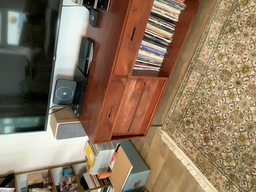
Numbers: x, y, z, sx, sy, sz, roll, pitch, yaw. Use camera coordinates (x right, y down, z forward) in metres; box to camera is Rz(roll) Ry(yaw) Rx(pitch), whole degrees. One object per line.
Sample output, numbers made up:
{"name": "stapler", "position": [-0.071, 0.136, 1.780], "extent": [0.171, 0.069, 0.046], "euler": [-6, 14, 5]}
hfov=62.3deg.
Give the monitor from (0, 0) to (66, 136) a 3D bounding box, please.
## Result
{"name": "monitor", "position": [-0.810, -0.270, 1.290], "extent": [0.070, 0.730, 1.280], "euler": [48, 129, 45]}
